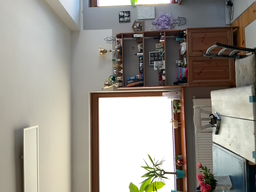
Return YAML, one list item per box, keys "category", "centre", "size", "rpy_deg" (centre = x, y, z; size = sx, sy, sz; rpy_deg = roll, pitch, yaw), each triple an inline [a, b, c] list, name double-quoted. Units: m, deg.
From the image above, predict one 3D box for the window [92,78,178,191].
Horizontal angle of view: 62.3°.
- category: "window"
  centre: [0.110, 0.930, 3.860]
  size: [0.160, 1.500, 2.480]
  rpy_deg: [72, -163, -84]

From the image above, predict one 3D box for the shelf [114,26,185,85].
- category: "shelf"
  centre: [0.350, -0.670, 3.650]
  size: [0.370, 1.140, 0.900]
  rpy_deg: [45, -136, -87]

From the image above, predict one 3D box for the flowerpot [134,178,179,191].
- category: "flowerpot"
  centre: [0.480, 1.770, 3.690]
  size: [0.320, 0.740, 0.570]
  rpy_deg: [66, -157, -86]

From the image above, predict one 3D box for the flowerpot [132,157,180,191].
- category: "flowerpot"
  centre: [0.490, 1.430, 3.810]
  size: [0.150, 0.830, 0.620]
  rpy_deg: [66, -157, -86]
